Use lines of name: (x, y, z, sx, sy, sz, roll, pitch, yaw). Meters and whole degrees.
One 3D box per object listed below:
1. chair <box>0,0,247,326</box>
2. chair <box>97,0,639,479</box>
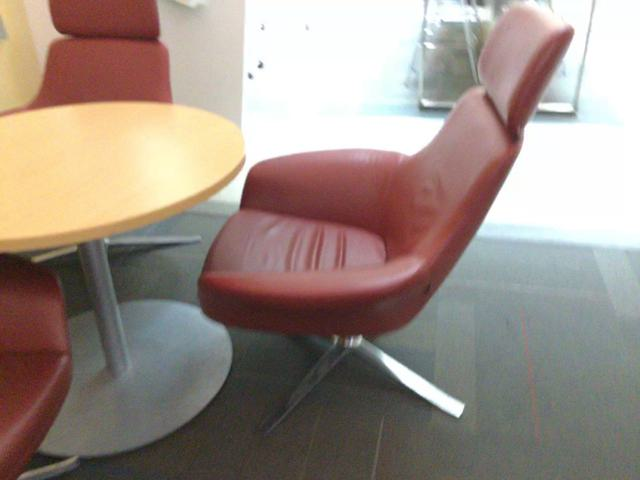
chair: (-0.870, -0.390, 2.180, 0.890, 1.040, 0.900, 2, 32, 7)
chair: (0.130, -0.070, 1.610, 0.900, 1.040, 0.890, 2, 32, 7)
